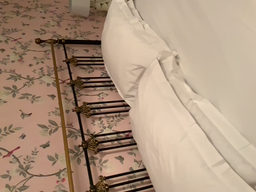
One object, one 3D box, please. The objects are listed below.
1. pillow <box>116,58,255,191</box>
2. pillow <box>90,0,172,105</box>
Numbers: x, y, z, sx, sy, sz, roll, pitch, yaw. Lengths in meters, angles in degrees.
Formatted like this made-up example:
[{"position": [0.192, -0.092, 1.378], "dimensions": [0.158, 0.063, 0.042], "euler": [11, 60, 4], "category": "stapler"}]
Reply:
[{"position": [0.220, 0.230, 0.990], "dimensions": [0.440, 0.270, 0.780], "euler": [107, 150, -41], "category": "pillow"}, {"position": [-0.040, -0.350, 1.450], "dimensions": [0.370, 0.250, 0.760], "euler": [107, 149, -42], "category": "pillow"}]
